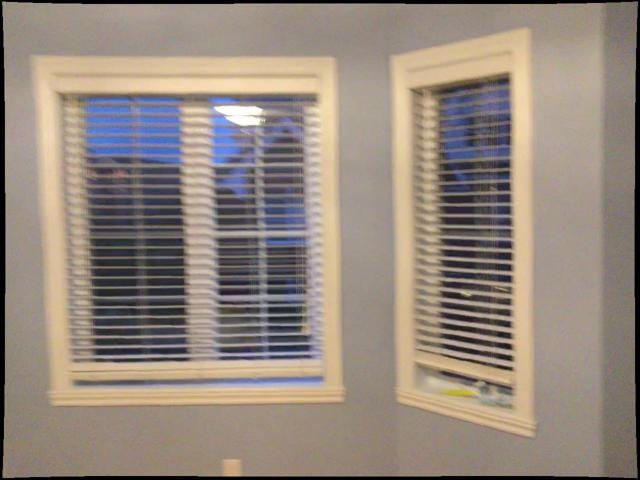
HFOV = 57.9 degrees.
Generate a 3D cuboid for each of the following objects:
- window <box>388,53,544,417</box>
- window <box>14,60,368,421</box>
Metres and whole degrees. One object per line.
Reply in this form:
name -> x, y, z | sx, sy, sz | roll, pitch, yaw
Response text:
window -> 0.539, -0.020, 2.260 | 0.480, 1.281, 0.440 | -1, 5, 0
window -> -0.519, 0.010, 2.540 | 1.419, 1.491, 0.240 | -1, 5, 0
